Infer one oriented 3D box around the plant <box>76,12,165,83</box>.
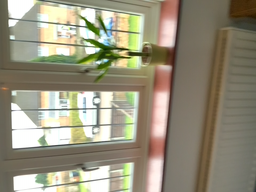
[{"bbox_3d":[-0.050,-0.250,1.200,0.200,0.450,0.330,-158,70,-67],"label":"plant"}]
